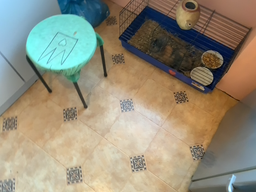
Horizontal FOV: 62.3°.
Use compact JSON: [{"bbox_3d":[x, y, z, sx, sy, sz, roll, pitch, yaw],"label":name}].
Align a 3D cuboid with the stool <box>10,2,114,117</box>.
[{"bbox_3d":[-0.310,-0.170,1.180,0.320,0.460,0.330,32,68,11],"label":"stool"}]
